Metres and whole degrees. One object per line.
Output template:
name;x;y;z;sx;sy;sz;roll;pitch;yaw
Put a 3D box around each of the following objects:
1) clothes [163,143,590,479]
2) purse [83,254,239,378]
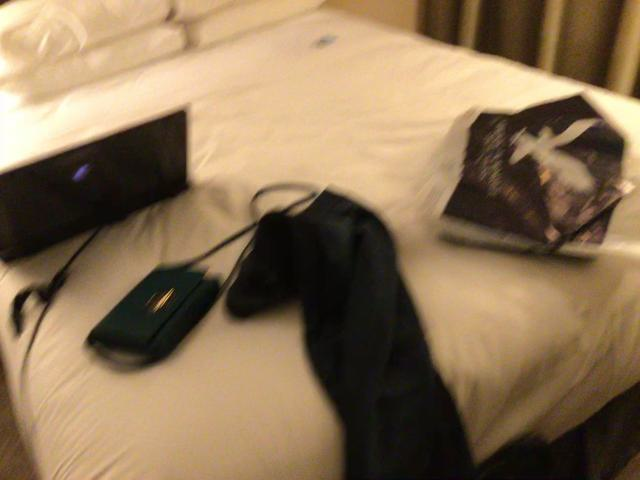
clothes;0.040;0.150;0.910;0.340;0.370;0.540;-20;37;-25
purse;-0.240;0.110;0.910;0.140;0.040;0.220;9;35;16
